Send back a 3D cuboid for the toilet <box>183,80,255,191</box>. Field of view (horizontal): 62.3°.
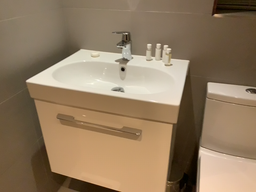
[{"bbox_3d":[0.490,0.420,0.990,0.400,0.760,0.590,10,31,16],"label":"toilet"}]

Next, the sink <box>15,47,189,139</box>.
[{"bbox_3d":[-0.080,-0.070,1.010,0.660,0.130,0.470,10,31,16],"label":"sink"}]
